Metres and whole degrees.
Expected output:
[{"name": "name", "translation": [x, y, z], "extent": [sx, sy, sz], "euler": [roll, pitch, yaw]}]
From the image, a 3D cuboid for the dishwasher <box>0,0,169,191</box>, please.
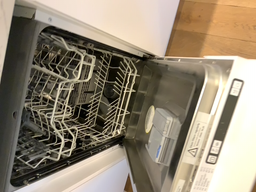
[{"name": "dishwasher", "translation": [-0.300, -0.050, 0.860], "extent": [0.590, 0.920, 0.460], "euler": [18, 99, 25]}]
